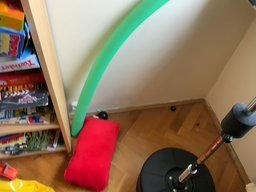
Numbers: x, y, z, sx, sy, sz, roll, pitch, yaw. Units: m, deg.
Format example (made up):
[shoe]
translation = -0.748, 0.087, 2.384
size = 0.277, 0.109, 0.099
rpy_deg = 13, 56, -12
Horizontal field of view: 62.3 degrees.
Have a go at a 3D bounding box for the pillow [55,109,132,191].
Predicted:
[pillow]
translation = -0.190, 0.310, 1.280
size = 0.300, 0.100, 0.390
rpy_deg = 21, 53, 8
